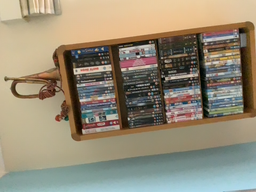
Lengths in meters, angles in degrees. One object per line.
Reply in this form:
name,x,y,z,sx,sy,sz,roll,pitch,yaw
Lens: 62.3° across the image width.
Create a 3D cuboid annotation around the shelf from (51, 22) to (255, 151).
shelf,0.150,-0.050,1.170,0.160,1.000,0.540,-105,8,-82
